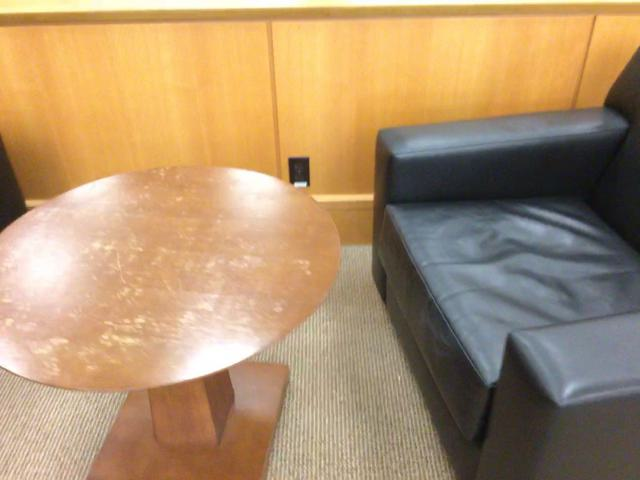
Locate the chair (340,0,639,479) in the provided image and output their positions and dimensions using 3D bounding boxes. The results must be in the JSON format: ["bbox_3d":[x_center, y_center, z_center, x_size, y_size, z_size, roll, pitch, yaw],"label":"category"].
[{"bbox_3d":[0.570,-0.020,1.260,0.880,0.820,0.970,-7,35,-7],"label":"chair"}]
